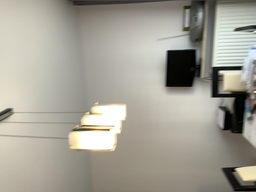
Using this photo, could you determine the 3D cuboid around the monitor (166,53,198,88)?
[{"bbox_3d":[0.660,-0.310,2.630,0.040,0.340,0.450,-83,-9,-59],"label":"monitor"}]
